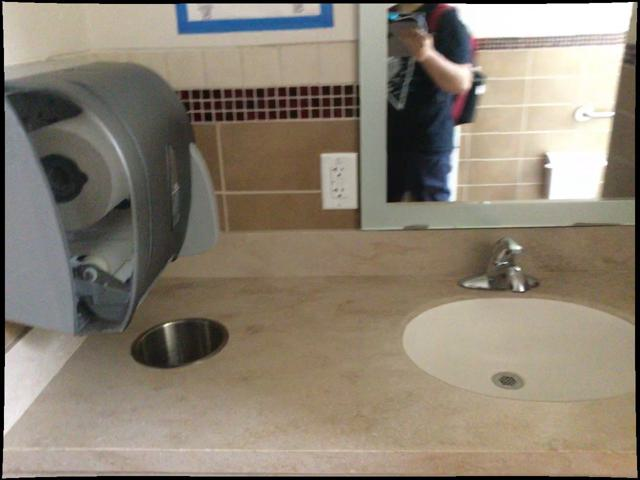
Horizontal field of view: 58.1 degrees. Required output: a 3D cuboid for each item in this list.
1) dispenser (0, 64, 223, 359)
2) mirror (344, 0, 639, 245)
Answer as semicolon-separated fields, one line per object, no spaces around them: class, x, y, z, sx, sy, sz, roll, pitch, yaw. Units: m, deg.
dispenser;-0.349;-0.060;0.930;0.269;0.381;0.310;-2;23;6
mirror;0.389;-0.281;1.150;0.658;0.571;0.090;-2;23;6
